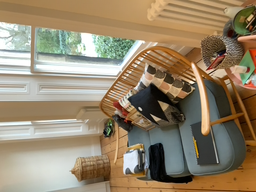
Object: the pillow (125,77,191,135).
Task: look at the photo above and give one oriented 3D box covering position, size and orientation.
[{"bbox_3d":[0.240,0.120,1.950,0.120,0.440,0.540,-51,-4,-26],"label":"pillow"}]
